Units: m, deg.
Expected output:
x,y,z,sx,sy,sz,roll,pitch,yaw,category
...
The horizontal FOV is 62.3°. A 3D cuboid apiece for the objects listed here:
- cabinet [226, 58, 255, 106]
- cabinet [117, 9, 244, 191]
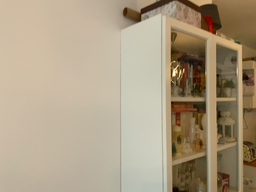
x,y,z,sx,sy,sz,roll,pitch,yaw,category
1.900,-0.170,3.230,1.150,0.610,0.310,2,-1,-42,cabinet
0.350,0.650,1.240,0.810,2.000,0.310,1,-1,-41,cabinet
